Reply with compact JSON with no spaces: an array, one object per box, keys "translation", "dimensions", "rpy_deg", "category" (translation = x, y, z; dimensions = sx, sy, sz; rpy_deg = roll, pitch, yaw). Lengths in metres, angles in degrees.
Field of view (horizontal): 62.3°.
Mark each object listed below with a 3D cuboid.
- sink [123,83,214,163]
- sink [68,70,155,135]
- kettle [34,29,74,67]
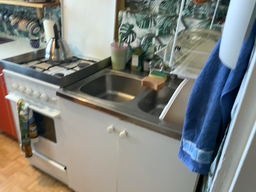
[{"translation":[0.230,0.110,1.150],"dimensions":[0.360,0.170,0.380],"rpy_deg":[17,29,24],"category":"sink"},{"translation":[-0.090,0.010,1.300],"dimensions":[0.370,0.170,0.380],"rpy_deg":[17,29,24],"category":"sink"},{"translation":[-0.540,-0.360,1.570],"dimensions":[0.190,0.220,0.180],"rpy_deg":[17,29,23],"category":"kettle"}]
